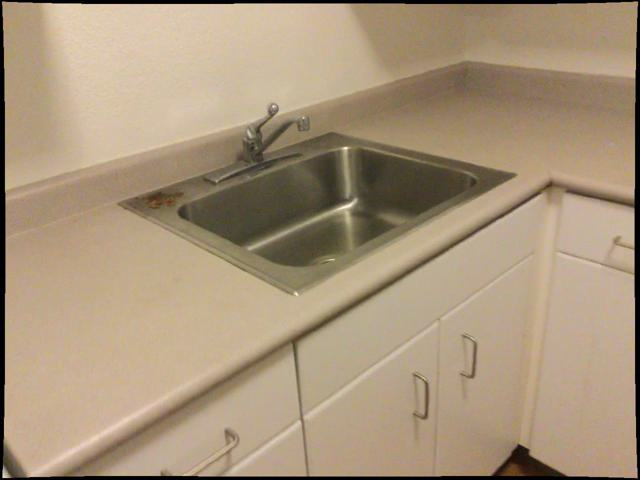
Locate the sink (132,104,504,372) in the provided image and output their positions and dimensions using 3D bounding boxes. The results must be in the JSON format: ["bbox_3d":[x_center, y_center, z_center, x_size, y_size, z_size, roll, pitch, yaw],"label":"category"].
[{"bbox_3d":[0.000,-0.070,1.240,0.550,0.260,0.530,21,37,41],"label":"sink"}]

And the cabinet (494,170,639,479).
[{"bbox_3d":[0.659,0.290,1.330,0.100,0.831,0.470,-28,34,-37],"label":"cabinet"}]
